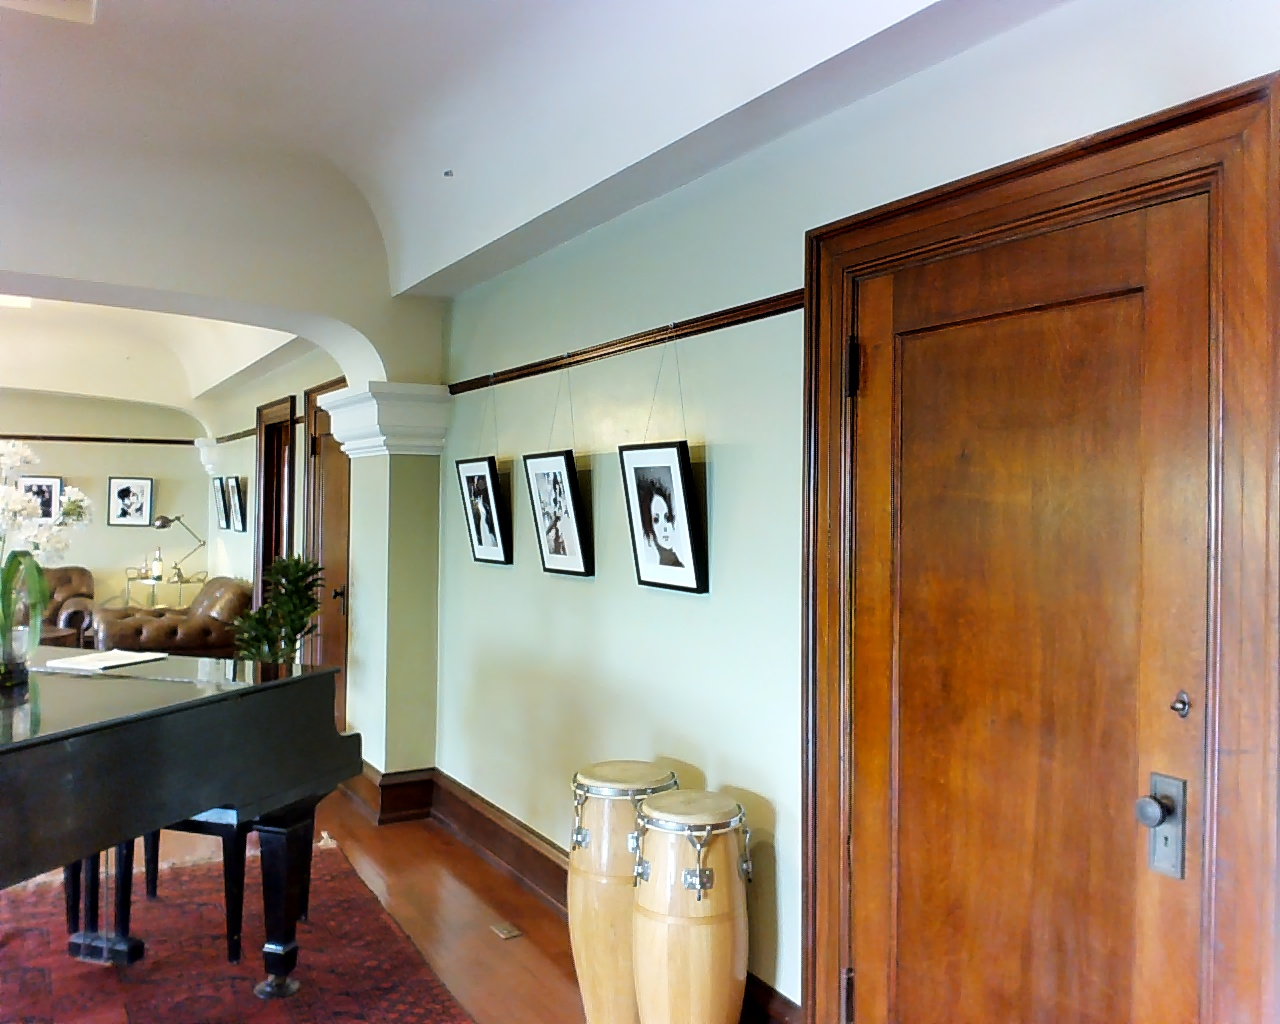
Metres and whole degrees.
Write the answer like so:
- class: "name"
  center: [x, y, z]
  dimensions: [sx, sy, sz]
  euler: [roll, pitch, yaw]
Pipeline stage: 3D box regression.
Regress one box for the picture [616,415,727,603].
- class: "picture"
  center: [0.090, -0.010, 3.380]
  dimensions: [0.120, 0.550, 0.470]
  euler: [0, 1, -29]
